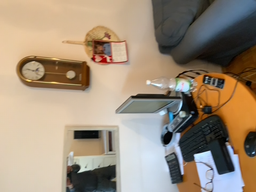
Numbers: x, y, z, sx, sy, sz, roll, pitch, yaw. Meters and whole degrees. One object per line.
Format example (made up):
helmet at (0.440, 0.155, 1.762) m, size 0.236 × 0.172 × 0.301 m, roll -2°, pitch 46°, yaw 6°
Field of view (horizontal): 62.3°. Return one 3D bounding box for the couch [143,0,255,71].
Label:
couch at (0.680, -0.920, 1.820) m, size 0.900 × 0.800 × 1.070 m, roll 136°, pitch 134°, yaw -64°

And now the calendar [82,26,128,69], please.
calendar at (-0.200, -0.420, 1.840) m, size 0.070 × 0.380 × 0.340 m, roll 132°, pitch 137°, yaw -62°

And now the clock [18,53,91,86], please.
clock at (-0.550, -0.200, 1.640) m, size 0.070 × 0.510 × 0.200 m, roll 144°, pitch 127°, yaw -67°
